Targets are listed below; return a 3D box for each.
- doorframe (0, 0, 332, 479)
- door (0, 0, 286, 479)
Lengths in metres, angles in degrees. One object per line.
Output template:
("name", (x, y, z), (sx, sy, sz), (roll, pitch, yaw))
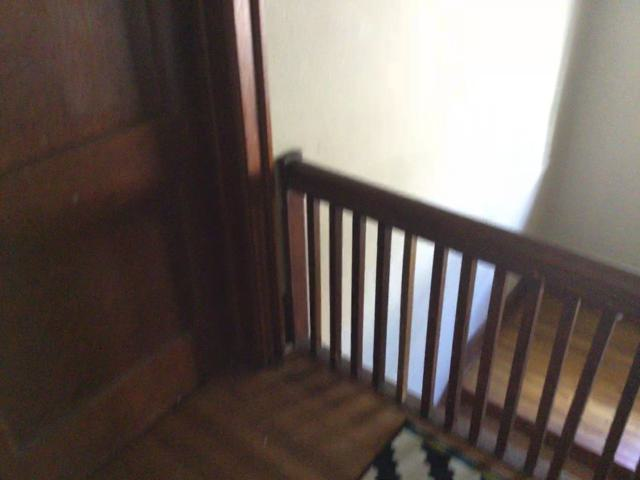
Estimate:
("doorframe", (-0.430, -0.280, 1.170), (0.330, 2.020, 1.000), (18, 31, 35))
("door", (-0.500, -0.270, 1.180), (0.250, 1.970, 0.860), (18, 31, 35))
